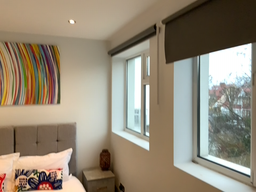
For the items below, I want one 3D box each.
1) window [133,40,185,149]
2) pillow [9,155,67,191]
[{"bbox_3d":[0.360,-0.030,2.930,0.080,1.220,1.200,0,1,-24],"label":"window"},{"bbox_3d":[-1.080,0.990,2.590,0.570,0.270,0.160,-22,11,-18],"label":"pillow"}]
